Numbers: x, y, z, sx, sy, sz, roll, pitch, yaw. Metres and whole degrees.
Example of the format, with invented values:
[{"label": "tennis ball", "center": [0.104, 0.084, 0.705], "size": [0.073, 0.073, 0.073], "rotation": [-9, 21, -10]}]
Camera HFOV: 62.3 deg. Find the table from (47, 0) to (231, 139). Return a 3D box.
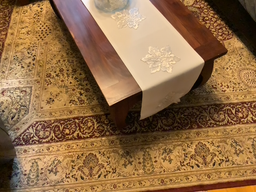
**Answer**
[{"label": "table", "center": [-0.080, -0.460, 1.350], "size": [0.620, 0.440, 1.220], "rotation": [-24, 65, -13]}]
